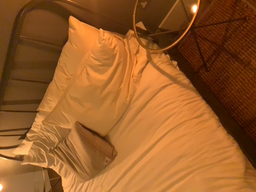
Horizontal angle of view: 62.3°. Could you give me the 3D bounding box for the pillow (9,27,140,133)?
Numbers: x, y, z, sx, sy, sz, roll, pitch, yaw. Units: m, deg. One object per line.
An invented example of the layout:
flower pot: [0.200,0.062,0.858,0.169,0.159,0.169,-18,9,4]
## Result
pillow: [-0.270,-0.070,1.270,0.620,0.450,0.190,-22,56,-5]
